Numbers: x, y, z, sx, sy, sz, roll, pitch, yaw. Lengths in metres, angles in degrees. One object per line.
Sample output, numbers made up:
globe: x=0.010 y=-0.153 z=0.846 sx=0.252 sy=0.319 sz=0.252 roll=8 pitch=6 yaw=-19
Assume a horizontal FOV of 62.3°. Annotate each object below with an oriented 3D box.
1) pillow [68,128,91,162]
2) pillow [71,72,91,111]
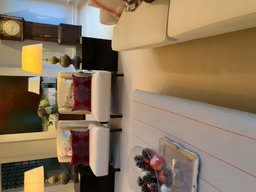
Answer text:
pillow: x=-0.800 y=0.810 z=3.540 sx=0.240 sy=0.310 sz=0.490 roll=-113 pitch=20 yaw=-82
pillow: x=-0.750 y=-0.070 z=3.420 sx=0.210 sy=0.290 sz=0.590 roll=-179 pitch=87 yaw=-80
